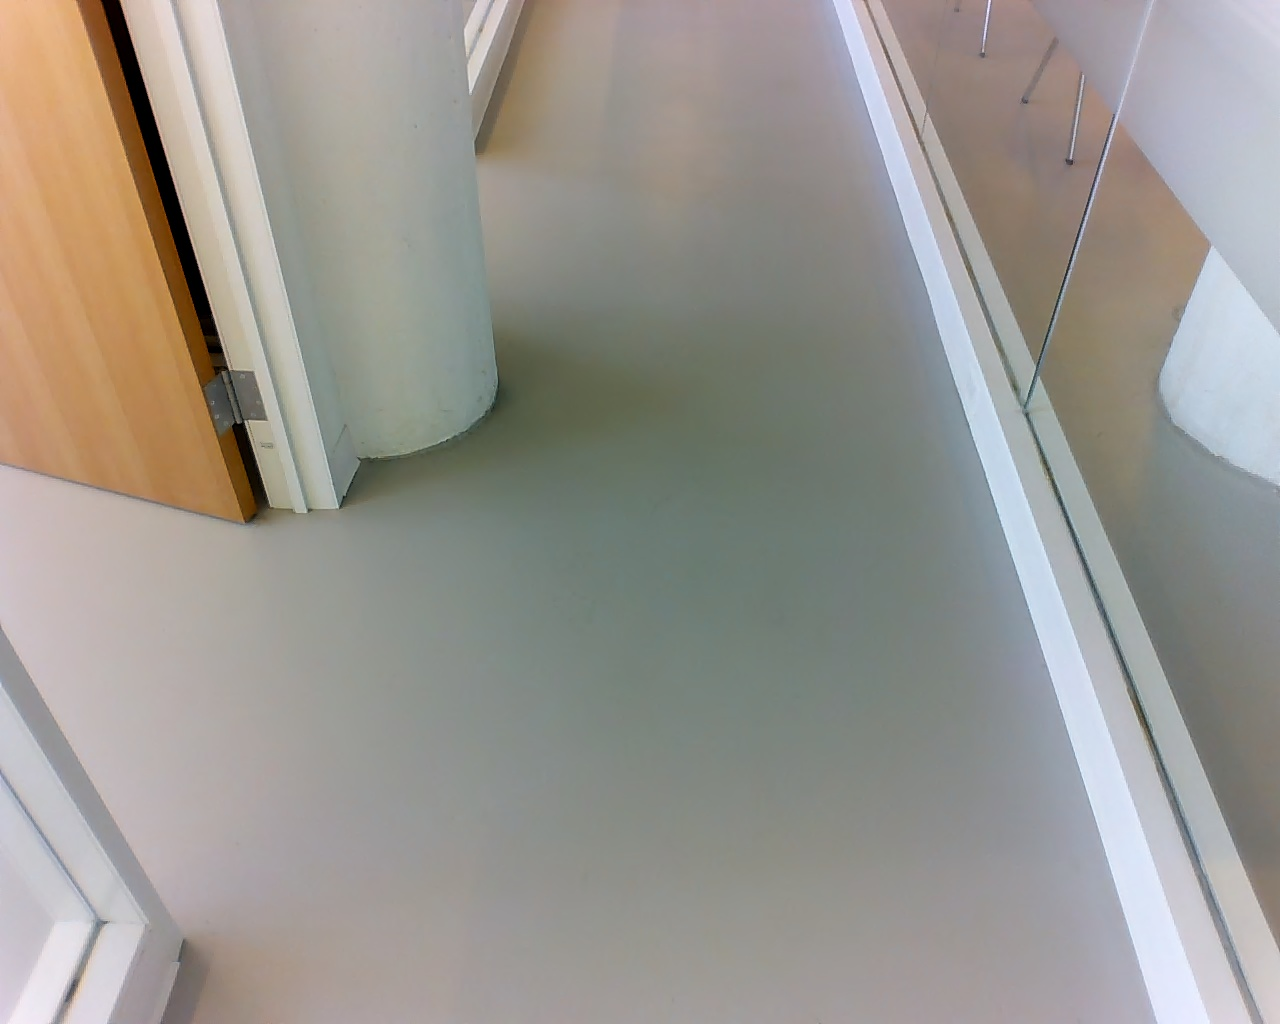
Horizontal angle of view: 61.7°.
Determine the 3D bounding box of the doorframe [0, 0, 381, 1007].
[{"bbox_3d":[-0.680,-0.490,1.110,0.260,2.190,1.030,1,42,1],"label":"doorframe"}]
